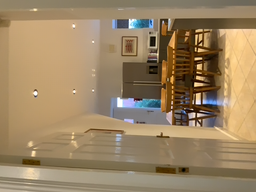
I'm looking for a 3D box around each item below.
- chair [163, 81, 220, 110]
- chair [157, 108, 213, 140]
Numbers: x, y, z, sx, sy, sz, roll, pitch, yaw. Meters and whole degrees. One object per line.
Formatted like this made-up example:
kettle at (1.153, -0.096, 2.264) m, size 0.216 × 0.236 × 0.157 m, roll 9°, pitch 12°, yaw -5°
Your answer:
chair at (1.000, 0.000, 3.500) m, size 0.560 × 0.800 × 0.410 m, roll 45°, pitch -134°, yaw -83°
chair at (0.980, 0.480, 3.790) m, size 0.540 × 0.870 × 0.460 m, roll -18°, pitch -71°, yaw -85°
